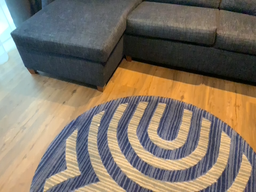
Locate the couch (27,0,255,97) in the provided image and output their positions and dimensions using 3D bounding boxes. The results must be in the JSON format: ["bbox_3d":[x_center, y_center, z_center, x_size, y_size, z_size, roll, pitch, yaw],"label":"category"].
[{"bbox_3d":[0.450,-0.870,2.080,2.580,0.890,1.040,15,46,12],"label":"couch"}]
